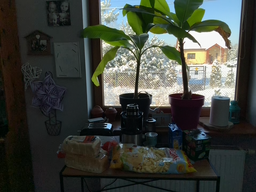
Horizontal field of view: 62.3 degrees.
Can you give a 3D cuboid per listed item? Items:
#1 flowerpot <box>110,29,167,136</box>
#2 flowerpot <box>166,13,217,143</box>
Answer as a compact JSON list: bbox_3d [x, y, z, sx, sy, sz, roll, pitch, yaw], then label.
[{"bbox_3d":[0.100,-0.130,2.060,0.480,0.950,0.350,0,11,4],"label":"flowerpot"},{"bbox_3d":[0.510,-0.140,1.800,0.340,1.000,0.290,2,11,10],"label":"flowerpot"}]
